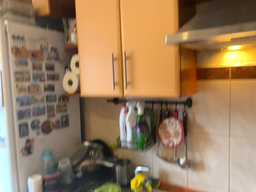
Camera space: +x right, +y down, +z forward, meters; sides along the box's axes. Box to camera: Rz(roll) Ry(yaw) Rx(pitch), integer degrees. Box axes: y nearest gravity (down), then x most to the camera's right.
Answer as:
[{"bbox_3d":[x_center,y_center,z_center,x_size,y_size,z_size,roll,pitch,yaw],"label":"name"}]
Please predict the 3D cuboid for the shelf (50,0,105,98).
[{"bbox_3d":[-0.330,-0.530,1.410,0.180,1.060,0.300,1,5,30],"label":"shelf"}]

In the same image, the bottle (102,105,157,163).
[{"bbox_3d":[0.010,0.220,1.340,0.290,0.300,0.180,1,5,32],"label":"bottle"}]
